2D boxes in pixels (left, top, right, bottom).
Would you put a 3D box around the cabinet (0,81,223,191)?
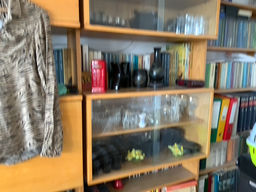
[{"bbox_3d":[-0.260,0.190,1.170,1.690,0.480,0.390,-3,10,-25],"label":"cabinet"}]
